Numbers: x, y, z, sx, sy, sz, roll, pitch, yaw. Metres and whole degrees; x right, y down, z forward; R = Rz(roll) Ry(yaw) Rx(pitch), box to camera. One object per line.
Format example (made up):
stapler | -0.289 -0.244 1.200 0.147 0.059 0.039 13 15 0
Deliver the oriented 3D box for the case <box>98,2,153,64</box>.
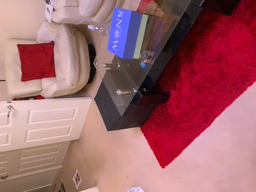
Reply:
case | -0.030 -0.390 1.320 0.270 0.160 0.280 45 127 43

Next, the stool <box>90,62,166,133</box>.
stool | -0.020 0.000 1.860 0.410 0.410 0.410 56 135 36

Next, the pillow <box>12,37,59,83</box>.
pillow | -1.150 -0.450 2.680 0.090 0.410 0.460 143 143 -73
